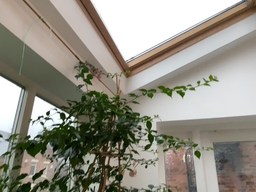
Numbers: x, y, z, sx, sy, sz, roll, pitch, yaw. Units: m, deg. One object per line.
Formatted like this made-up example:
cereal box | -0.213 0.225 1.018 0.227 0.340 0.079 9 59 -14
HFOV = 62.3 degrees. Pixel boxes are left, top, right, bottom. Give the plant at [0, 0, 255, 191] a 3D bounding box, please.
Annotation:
plant | 0.080 0.820 0.930 1.300 2.140 1.070 -5 -23 15
